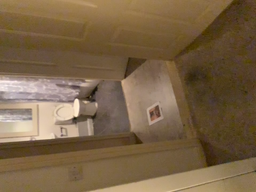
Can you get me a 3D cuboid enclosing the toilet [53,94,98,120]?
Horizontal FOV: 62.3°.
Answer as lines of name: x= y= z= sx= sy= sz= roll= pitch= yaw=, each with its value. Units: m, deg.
toilet: x=-1.120 y=0.240 z=4.450 sx=0.630 sy=0.770 sz=0.370 roll=-36 pitch=58 yaw=58
